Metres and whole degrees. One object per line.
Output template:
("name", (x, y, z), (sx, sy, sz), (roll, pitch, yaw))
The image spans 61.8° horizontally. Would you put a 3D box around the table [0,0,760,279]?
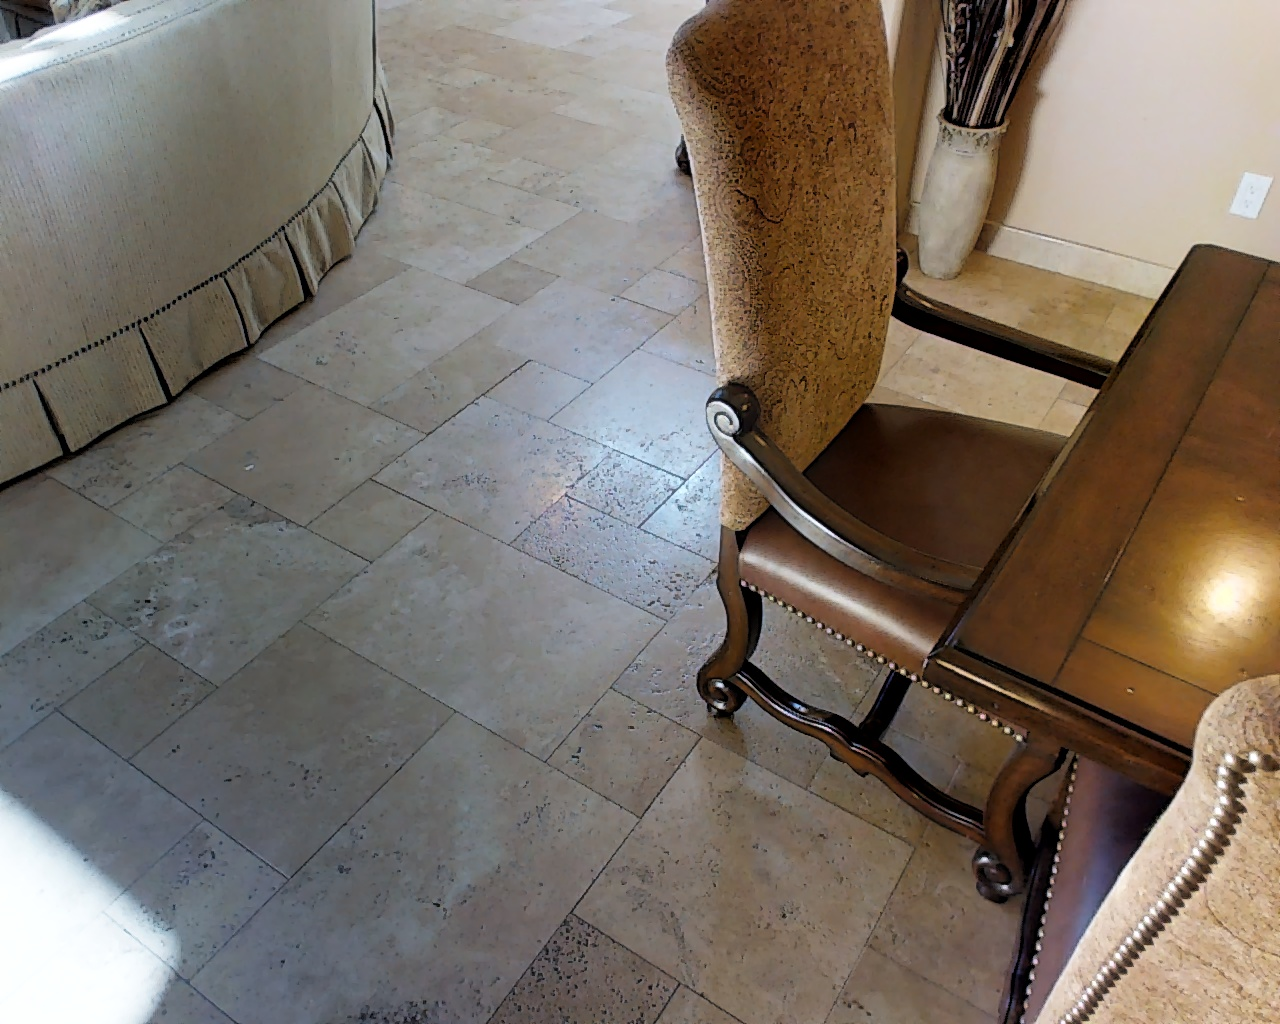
("table", (-1.211, -1.909, 4.260), (3.121, 0.670, 1.230), (23, 46, 24))
